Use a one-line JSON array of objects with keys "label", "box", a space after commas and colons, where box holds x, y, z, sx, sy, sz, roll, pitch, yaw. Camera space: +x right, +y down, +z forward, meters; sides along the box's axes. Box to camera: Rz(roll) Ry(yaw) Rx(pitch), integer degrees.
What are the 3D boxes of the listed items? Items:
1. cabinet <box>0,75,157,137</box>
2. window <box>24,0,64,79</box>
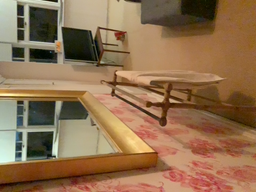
[{"label": "cabinet", "box": [-0.780, 0.040, 3.020, 1.280, 1.940, 0.510, -154, 66, -64]}, {"label": "window", "box": [-1.700, -1.960, 4.290, 0.330, 0.730, 3.180, -147, 59, -63]}]
